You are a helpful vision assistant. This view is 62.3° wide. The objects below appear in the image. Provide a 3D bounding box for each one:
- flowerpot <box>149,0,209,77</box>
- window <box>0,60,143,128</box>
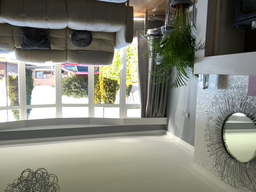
[{"bbox_3d":[0.710,-0.960,3.080,0.550,1.330,0.650,-1,-173,-18],"label":"flowerpot"},{"bbox_3d":[-1.450,-0.060,4.080,3.490,1.190,0.420,-1,-173,-15],"label":"window"}]
